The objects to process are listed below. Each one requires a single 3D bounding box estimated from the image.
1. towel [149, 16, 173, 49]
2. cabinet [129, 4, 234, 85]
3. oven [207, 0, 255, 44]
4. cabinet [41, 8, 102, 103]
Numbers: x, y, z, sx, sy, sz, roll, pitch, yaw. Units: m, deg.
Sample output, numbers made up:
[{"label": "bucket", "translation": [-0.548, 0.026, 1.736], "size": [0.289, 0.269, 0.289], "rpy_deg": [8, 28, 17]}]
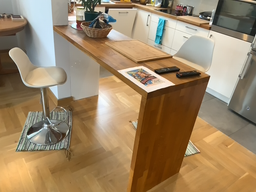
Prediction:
[{"label": "towel", "translation": [0.560, -1.090, 3.620], "size": [0.180, 0.470, 0.270], "rpy_deg": [-16, 38, -34]}, {"label": "cabinet", "translation": [0.810, -1.010, 3.800], "size": [0.640, 0.890, 1.660], "rpy_deg": [-15, 38, -33]}, {"label": "oven", "translation": [1.540, -1.080, 2.690], "size": [0.660, 0.600, 0.600], "rpy_deg": [-15, 38, -33]}, {"label": "cabinet", "translation": [-0.730, -0.550, 2.690], "size": [0.380, 0.920, 0.820], "rpy_deg": [-16, 38, -35]}]
